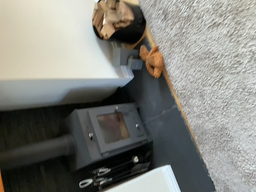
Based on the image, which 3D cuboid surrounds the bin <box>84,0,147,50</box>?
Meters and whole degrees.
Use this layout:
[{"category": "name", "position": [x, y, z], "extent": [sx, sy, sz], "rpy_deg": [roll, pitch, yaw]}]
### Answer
[{"category": "bin", "position": [-0.110, -0.610, 1.720], "extent": [0.340, 0.300, 0.310], "rpy_deg": [-30, 73, 45]}]
